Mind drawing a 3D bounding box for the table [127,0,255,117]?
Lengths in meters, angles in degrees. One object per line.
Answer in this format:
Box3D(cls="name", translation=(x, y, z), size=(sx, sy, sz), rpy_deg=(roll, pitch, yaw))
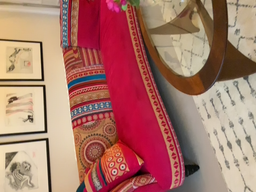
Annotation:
Box3D(cls="table", translation=(0.360, -0.570, 1.230), size=(0.630, 0.420, 1.190), rpy_deg=(127, 133, -57))
